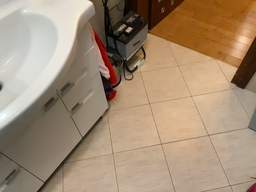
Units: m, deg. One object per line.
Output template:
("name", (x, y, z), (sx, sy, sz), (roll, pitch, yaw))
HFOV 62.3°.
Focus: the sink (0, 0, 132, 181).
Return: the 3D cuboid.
("sink", (-0.440, -0.070, 0.700), (0.500, 0.170, 0.870), (29, 61, 21))
